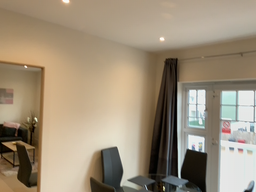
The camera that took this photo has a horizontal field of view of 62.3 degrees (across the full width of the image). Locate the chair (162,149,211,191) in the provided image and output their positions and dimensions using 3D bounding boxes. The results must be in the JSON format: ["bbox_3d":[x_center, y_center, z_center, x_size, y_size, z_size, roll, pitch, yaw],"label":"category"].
[{"bbox_3d":[0.820,1.320,2.980,0.470,0.970,0.530,1,-1,41],"label":"chair"}]

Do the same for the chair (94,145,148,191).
[{"bbox_3d":[-0.100,1.270,2.930,0.530,1.030,0.500,1,-1,41],"label":"chair"}]

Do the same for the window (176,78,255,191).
[{"bbox_3d":[1.600,0.790,3.150,1.890,2.090,0.120,1,-1,44],"label":"window"}]

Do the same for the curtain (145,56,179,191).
[{"bbox_3d":[0.590,0.590,3.720,0.470,2.500,0.260,1,-1,44],"label":"curtain"}]
